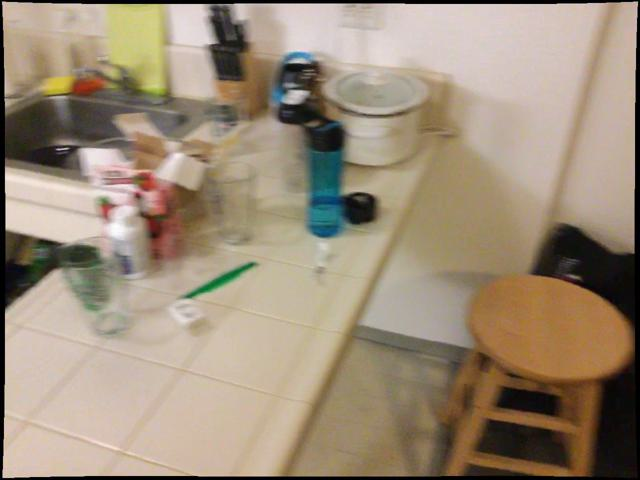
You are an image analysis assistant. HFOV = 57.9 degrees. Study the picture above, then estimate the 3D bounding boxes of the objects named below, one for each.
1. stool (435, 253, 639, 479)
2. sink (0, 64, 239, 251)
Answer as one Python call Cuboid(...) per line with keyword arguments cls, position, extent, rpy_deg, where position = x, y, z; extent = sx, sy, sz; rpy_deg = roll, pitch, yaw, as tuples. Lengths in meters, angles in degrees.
Cuboid(cls="stool", position=(0.539, 0.420, 1.490), extent=(0.390, 0.580, 0.410), rpy_deg=(11, 36, 15))
Cuboid(cls="sink", position=(-0.629, -0.270, 1.650), extent=(0.609, 0.240, 0.530), rpy_deg=(10, 36, 14))
